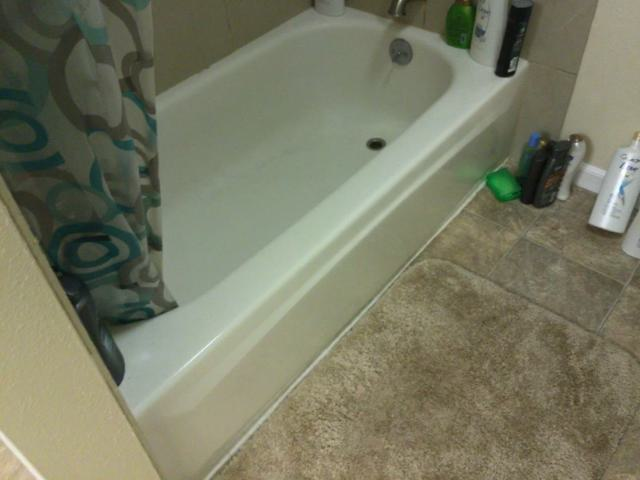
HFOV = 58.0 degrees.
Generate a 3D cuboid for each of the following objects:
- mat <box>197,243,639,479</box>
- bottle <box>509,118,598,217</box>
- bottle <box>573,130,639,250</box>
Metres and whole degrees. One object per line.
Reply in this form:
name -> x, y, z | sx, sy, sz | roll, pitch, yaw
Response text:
mat -> 0.260, 0.430, 1.270 | 0.660, 0.050, 0.970 | 29, 53, 30
bottle -> 0.700, -0.220, 1.750 | 0.170, 0.210, 0.140 | 29, 53, 30
bottle -> 0.850, -0.140, 1.620 | 0.150, 0.240, 0.180 | 29, 53, 30
